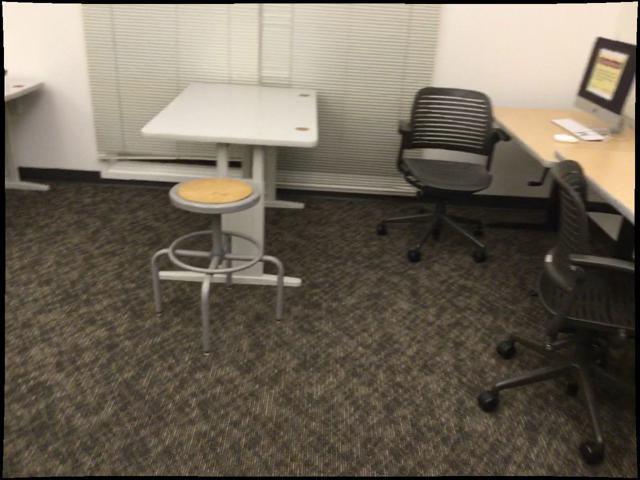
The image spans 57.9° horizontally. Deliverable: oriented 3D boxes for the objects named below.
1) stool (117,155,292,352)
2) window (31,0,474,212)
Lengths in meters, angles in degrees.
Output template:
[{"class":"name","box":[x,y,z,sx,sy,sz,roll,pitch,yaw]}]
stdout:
[{"class":"stool","box":[-0.430,0.030,2.410,0.589,0.570,0.630,3,26,-2]},{"class":"window","box":[-0.360,-1.091,3.310,2.258,1.691,0.510,3,26,-3]}]
